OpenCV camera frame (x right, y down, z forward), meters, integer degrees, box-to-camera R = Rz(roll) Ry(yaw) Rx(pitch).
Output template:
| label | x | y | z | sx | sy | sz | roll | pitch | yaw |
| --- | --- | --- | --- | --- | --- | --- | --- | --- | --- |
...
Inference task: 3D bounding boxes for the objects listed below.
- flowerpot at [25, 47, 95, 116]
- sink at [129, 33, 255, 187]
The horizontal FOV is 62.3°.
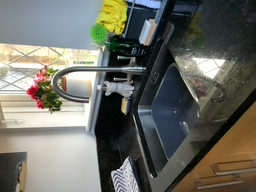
| label | x | y | z | sx | sy | sz | roll | pitch | yaw |
| --- | --- | --- | --- | --- | --- | --- | --- | --- | --- |
| flowerpot | -0.390 | -0.070 | 1.230 | 0.320 | 0.330 | 0.220 | 111 | 153 | -46 |
| sink | 0.200 | 0.060 | 0.850 | 0.430 | 0.210 | 0.410 | 109 | 154 | -43 |
